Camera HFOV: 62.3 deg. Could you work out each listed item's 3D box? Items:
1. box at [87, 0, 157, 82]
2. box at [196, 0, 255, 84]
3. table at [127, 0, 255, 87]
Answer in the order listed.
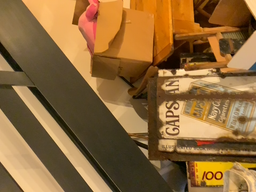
[{"bbox_3d":[-0.090,-0.440,1.790,0.600,0.430,0.500,150,121,-70],"label":"box"},{"bbox_3d":[0.840,-0.400,1.350,0.450,0.520,0.470,118,149,-55],"label":"box"},{"bbox_3d":[0.510,-1.040,2.030,0.920,0.800,1.720,152,119,-70],"label":"table"}]
